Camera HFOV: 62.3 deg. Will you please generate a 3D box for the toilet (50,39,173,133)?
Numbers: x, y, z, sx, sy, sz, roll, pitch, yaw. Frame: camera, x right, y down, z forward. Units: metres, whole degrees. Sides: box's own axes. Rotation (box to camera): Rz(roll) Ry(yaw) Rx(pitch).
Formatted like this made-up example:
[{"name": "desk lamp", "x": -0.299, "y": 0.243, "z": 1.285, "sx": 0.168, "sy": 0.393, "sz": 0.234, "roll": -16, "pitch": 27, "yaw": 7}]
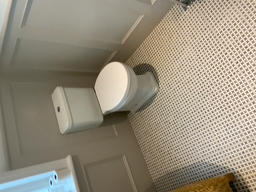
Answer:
[{"name": "toilet", "x": -0.160, "y": -0.060, "z": 1.880, "sx": 0.660, "sy": 0.770, "sz": 0.430, "roll": -43, "pitch": 60, "yaw": 41}]
